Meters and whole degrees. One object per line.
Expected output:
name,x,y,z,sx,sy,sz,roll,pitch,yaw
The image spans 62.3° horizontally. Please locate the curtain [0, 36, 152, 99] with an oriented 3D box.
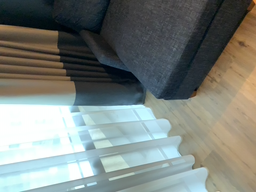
curtain,-0.880,-0.270,1.810,0.820,2.260,0.100,53,131,41
